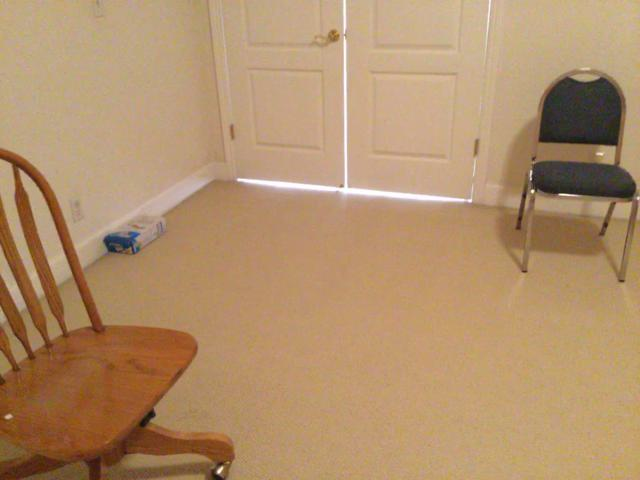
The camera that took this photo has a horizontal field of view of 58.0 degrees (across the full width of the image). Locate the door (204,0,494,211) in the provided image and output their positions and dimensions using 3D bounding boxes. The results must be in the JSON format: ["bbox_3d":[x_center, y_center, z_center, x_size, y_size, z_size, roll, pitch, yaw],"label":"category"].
[{"bbox_3d":[0.120,-1.160,3.040,1.510,1.950,0.190,6,26,18],"label":"door"}]
